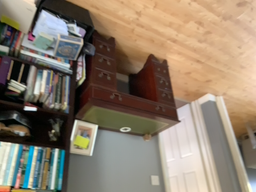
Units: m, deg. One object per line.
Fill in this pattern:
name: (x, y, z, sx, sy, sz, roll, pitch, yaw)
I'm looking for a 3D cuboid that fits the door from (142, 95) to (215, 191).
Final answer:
door: (0.670, 1.080, 2.910, 0.190, 2.050, 0.880, 21, 142, -37)
